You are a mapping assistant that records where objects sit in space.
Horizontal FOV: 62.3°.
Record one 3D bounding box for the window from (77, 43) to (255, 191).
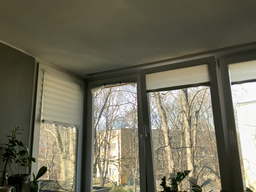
[{"bbox_3d":[0.560,0.430,2.110,2.480,1.720,0.120,-6,-13,23],"label":"window"}]
